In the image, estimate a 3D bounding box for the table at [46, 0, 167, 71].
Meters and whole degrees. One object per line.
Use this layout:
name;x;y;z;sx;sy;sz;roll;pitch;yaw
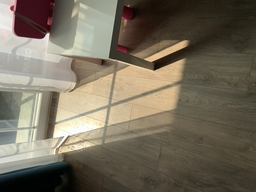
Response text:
table;-0.130;-0.500;1.360;0.550;0.450;0.560;13;95;36

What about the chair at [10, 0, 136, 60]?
chair;-0.330;-0.510;1.400;0.420;0.630;0.380;16;96;36
